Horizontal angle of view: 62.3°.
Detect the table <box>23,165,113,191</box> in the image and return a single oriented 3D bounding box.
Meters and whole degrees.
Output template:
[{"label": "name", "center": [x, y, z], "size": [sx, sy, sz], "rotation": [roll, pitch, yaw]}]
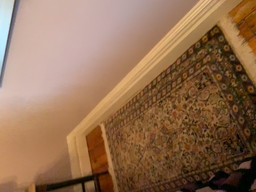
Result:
[{"label": "table", "center": [-0.560, 0.950, 2.030], "size": [0.370, 0.720, 0.370], "rotation": [-41, 57, 45]}]
